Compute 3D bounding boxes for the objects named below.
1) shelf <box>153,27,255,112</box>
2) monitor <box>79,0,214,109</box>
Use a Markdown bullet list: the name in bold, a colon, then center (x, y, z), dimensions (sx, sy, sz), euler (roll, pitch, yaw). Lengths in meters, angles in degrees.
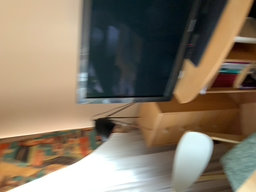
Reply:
- **shelf**: center (0.630, -0.210, 1.590), dimensions (0.510, 0.680, 0.370), euler (-113, 28, -47)
- **monitor**: center (0.100, -0.370, 1.090), dimensions (0.050, 0.650, 1.040), euler (-116, 30, -50)
